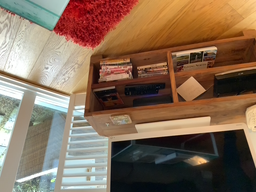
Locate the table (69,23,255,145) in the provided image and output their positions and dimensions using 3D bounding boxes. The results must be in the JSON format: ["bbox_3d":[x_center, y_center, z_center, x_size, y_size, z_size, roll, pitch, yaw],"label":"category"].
[{"bbox_3d":[0.240,-0.040,1.300,1.020,0.480,0.440,-6,148,7],"label":"table"}]
